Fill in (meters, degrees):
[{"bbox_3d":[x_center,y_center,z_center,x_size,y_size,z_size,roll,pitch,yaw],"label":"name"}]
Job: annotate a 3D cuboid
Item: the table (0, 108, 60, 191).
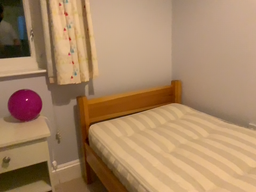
[{"bbox_3d":[-0.700,0.490,1.280,0.450,0.670,0.460,-11,17,-28],"label":"table"}]
